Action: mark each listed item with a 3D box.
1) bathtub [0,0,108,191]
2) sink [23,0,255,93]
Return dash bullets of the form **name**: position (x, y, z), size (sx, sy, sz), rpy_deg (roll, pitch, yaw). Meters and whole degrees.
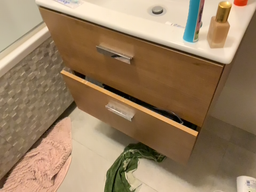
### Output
- **bathtub**: position (-0.830, -0.010, 1.190), size (0.700, 0.590, 1.380), rpy_deg (23, 58, 22)
- **sink**: position (0.060, -0.320, 0.700), size (0.650, 0.110, 0.450), rpy_deg (24, 59, 22)
